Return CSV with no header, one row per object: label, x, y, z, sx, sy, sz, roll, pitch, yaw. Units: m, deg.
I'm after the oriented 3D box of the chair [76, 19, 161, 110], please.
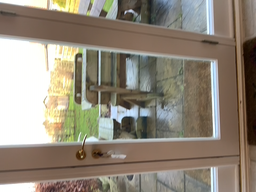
chair,-0.130,-0.330,2.660,0.470,0.950,0.960,161,110,-69
